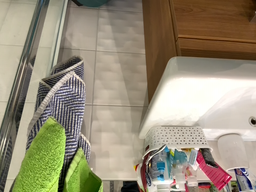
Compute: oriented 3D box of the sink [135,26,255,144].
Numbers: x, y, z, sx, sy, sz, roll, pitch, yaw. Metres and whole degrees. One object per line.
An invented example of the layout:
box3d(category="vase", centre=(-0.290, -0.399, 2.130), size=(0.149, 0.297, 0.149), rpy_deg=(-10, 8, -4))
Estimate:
box3d(category="sink", centre=(0.470, 0.020, 0.630), size=(0.850, 0.140, 0.370), rpy_deg=(3, 151, -6))
